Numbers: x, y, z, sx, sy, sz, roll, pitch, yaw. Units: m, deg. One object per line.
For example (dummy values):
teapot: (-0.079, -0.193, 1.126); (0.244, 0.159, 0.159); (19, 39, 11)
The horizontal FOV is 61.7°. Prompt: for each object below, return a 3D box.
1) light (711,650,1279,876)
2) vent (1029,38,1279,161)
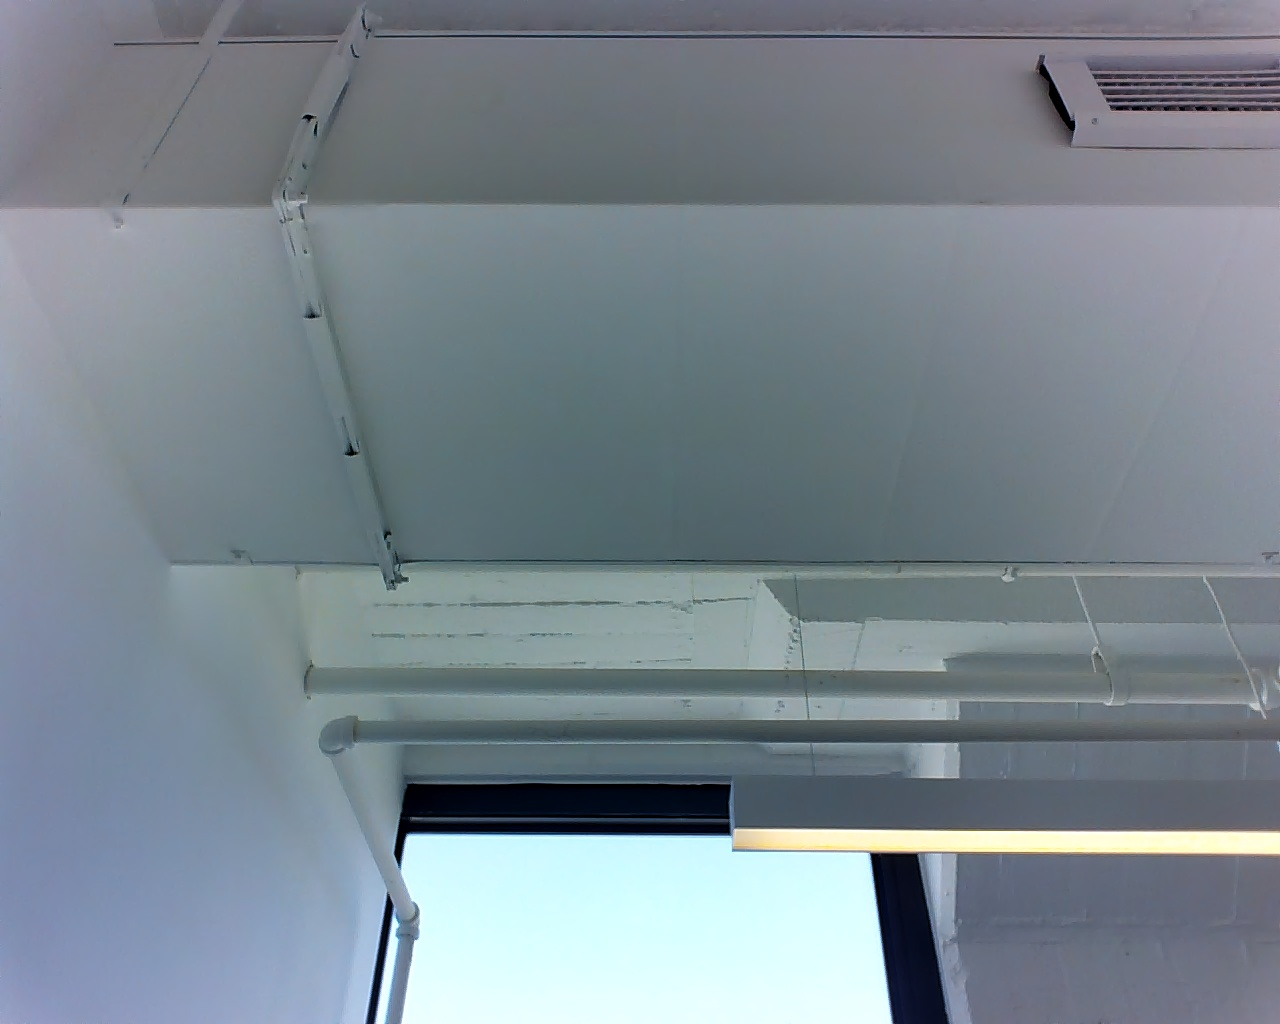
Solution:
light: (0.789, 0.470, 2.020); (1.289, 0.340, 0.240); (0, -42, 1)
vent: (0.680, -0.500, 1.290); (0.360, 0.220, 0.040); (0, -42, 1)
